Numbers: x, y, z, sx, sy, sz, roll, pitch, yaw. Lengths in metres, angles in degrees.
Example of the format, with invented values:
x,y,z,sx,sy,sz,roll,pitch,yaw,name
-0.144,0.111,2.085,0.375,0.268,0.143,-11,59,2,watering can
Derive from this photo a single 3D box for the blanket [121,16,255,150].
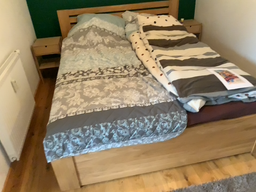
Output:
x,y,z,sx,sy,sz,roll,pitch,yaw,name
0.480,-0.380,2.200,0.780,0.400,2.000,-8,33,-7,blanket
